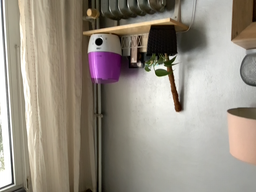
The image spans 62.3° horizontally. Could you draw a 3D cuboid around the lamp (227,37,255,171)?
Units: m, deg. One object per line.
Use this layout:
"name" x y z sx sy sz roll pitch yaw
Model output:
"lamp" 0.600 0.030 0.800 0.340 0.480 0.240 6 -171 36
